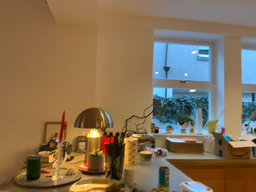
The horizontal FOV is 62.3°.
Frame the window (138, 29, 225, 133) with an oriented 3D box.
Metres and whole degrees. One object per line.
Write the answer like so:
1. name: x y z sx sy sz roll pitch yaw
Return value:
1. window: 0.820 -0.200 3.250 1.250 1.460 0.290 3 -3 -8
